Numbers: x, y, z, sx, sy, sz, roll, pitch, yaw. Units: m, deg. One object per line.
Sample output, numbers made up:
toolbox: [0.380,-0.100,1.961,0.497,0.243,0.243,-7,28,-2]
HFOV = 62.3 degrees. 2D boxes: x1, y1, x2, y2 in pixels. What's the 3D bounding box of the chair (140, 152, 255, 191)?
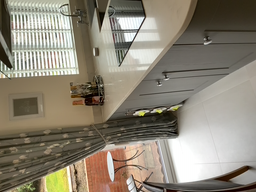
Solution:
chair: [0.600,0.720,1.370,0.390,0.880,0.540,143,119,-68]
